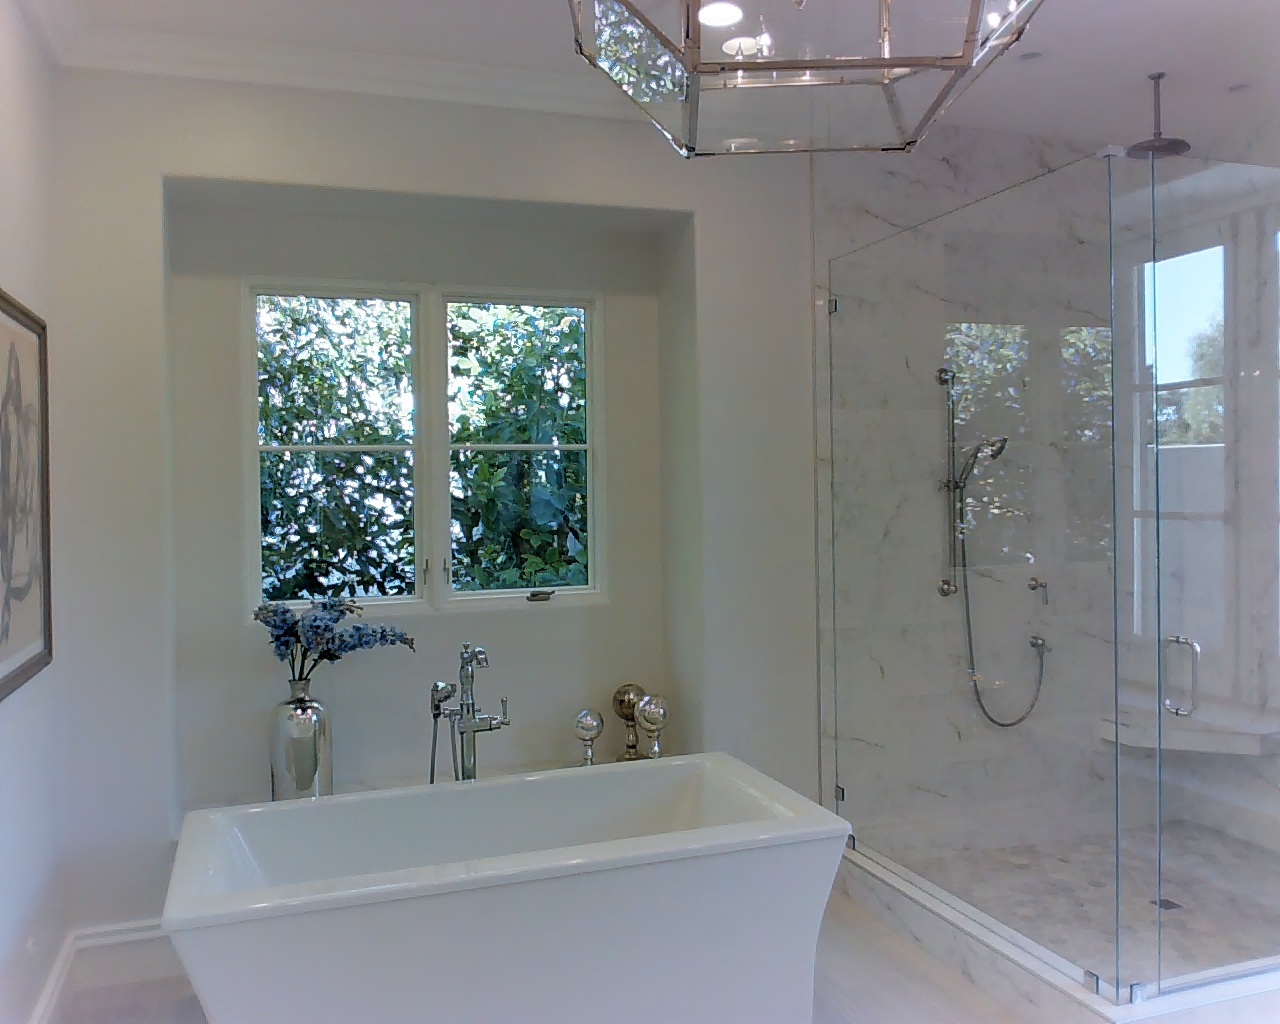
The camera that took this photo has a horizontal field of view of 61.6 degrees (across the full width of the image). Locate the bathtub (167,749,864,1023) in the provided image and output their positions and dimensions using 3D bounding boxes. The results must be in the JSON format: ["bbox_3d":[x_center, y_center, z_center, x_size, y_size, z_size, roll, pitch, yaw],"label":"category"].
[{"bbox_3d":[-0.400,1.240,3.290,1.829,0.650,1.080,-1,0,-19],"label":"bathtub"}]
